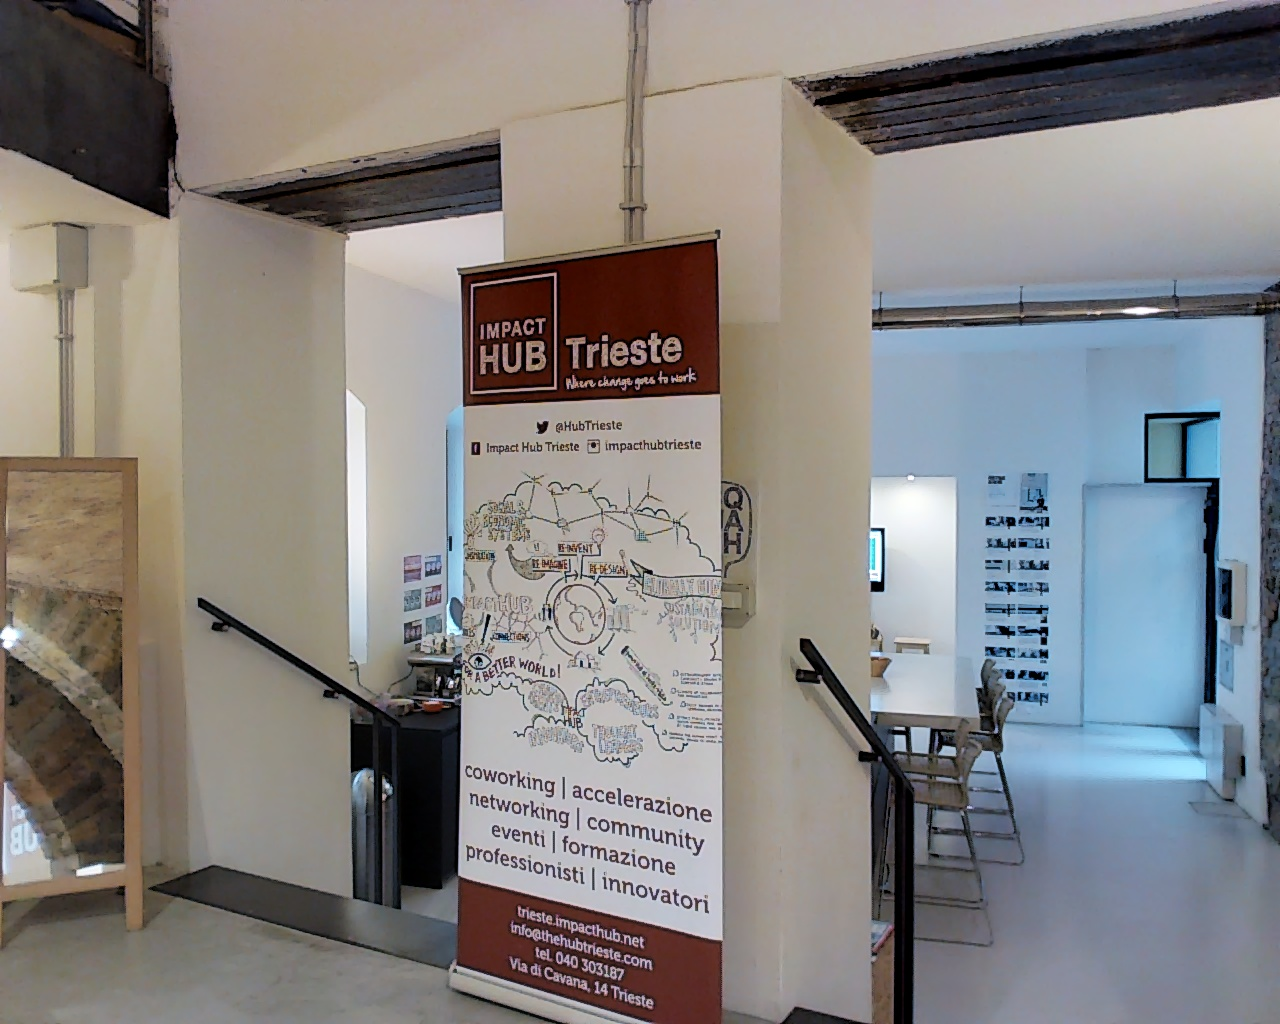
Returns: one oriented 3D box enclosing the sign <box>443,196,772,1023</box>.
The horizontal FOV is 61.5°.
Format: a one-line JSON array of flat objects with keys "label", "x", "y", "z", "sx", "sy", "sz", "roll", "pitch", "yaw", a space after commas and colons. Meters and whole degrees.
[{"label": "sign", "x": -0.110, "y": 0.290, "z": 2.910, "sx": 0.920, "sy": 2.101, "sz": 0.200, "roll": 1, "pitch": 1, "yaw": 31}]
